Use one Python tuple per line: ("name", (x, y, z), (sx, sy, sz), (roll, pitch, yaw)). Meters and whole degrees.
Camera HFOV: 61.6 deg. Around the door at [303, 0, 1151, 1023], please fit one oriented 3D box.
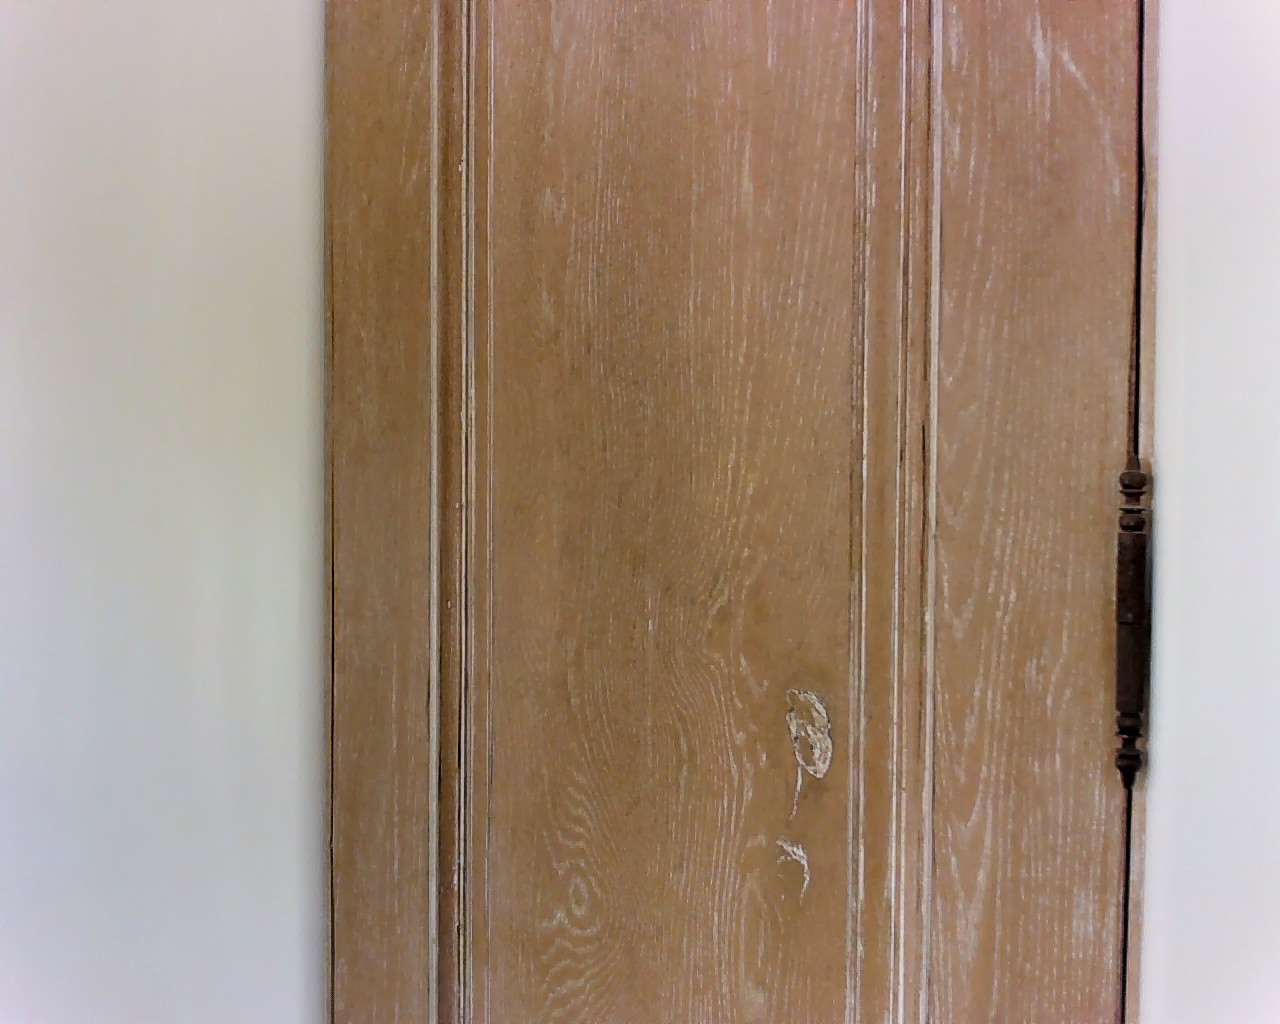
("door", (0.000, 0.430, 0.860), (0.720, 2.401, 0.050), (1, 1, 31))
